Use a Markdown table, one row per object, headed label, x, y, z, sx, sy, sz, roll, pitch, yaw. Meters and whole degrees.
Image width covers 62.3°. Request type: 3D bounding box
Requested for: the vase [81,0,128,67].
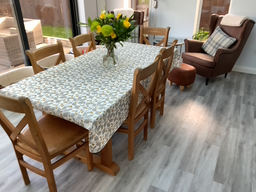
| label | x | y | z | sx | sy | sz | roll | pitch | yaw |
| --- | --- | --- | --- | --- | --- | --- | --- | --- | --- |
| vase | -0.210 | -0.620 | 2.060 | 0.320 | 0.550 | 0.290 | 17 | 33 | 27 |
